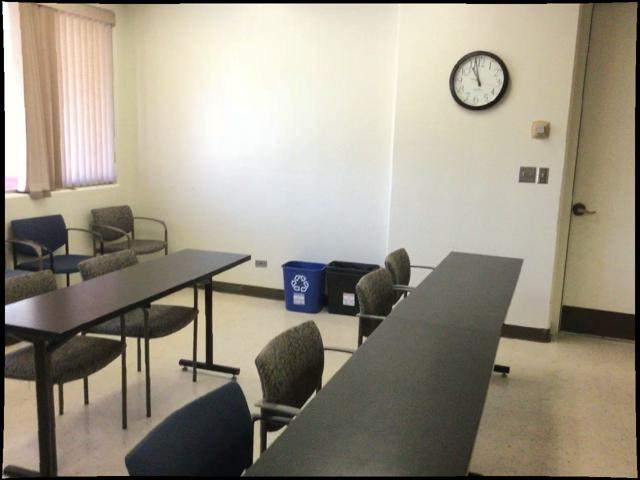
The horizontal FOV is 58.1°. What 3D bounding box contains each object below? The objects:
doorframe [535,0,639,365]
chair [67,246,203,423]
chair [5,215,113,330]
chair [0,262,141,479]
[{"bbox_3d":[2.164,-0.391,3.890,1.098,2.436,0.380,6,11,19],"label":"doorframe"},{"bbox_3d":[-1.007,0.491,3.220,0.509,0.792,0.500,6,11,19],"label":"chair"},{"bbox_3d":[-1.985,0.221,4.430,0.479,0.732,0.550,6,11,19],"label":"chair"},{"bbox_3d":[-1.237,0.592,2.690,0.509,0.822,0.580,6,11,19],"label":"chair"}]
